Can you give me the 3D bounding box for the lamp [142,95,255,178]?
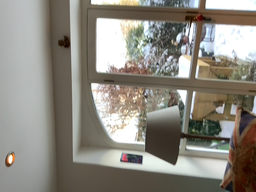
[{"bbox_3d":[0.570,0.300,1.820,0.520,0.860,0.460,-67,-19,-76],"label":"lamp"}]
